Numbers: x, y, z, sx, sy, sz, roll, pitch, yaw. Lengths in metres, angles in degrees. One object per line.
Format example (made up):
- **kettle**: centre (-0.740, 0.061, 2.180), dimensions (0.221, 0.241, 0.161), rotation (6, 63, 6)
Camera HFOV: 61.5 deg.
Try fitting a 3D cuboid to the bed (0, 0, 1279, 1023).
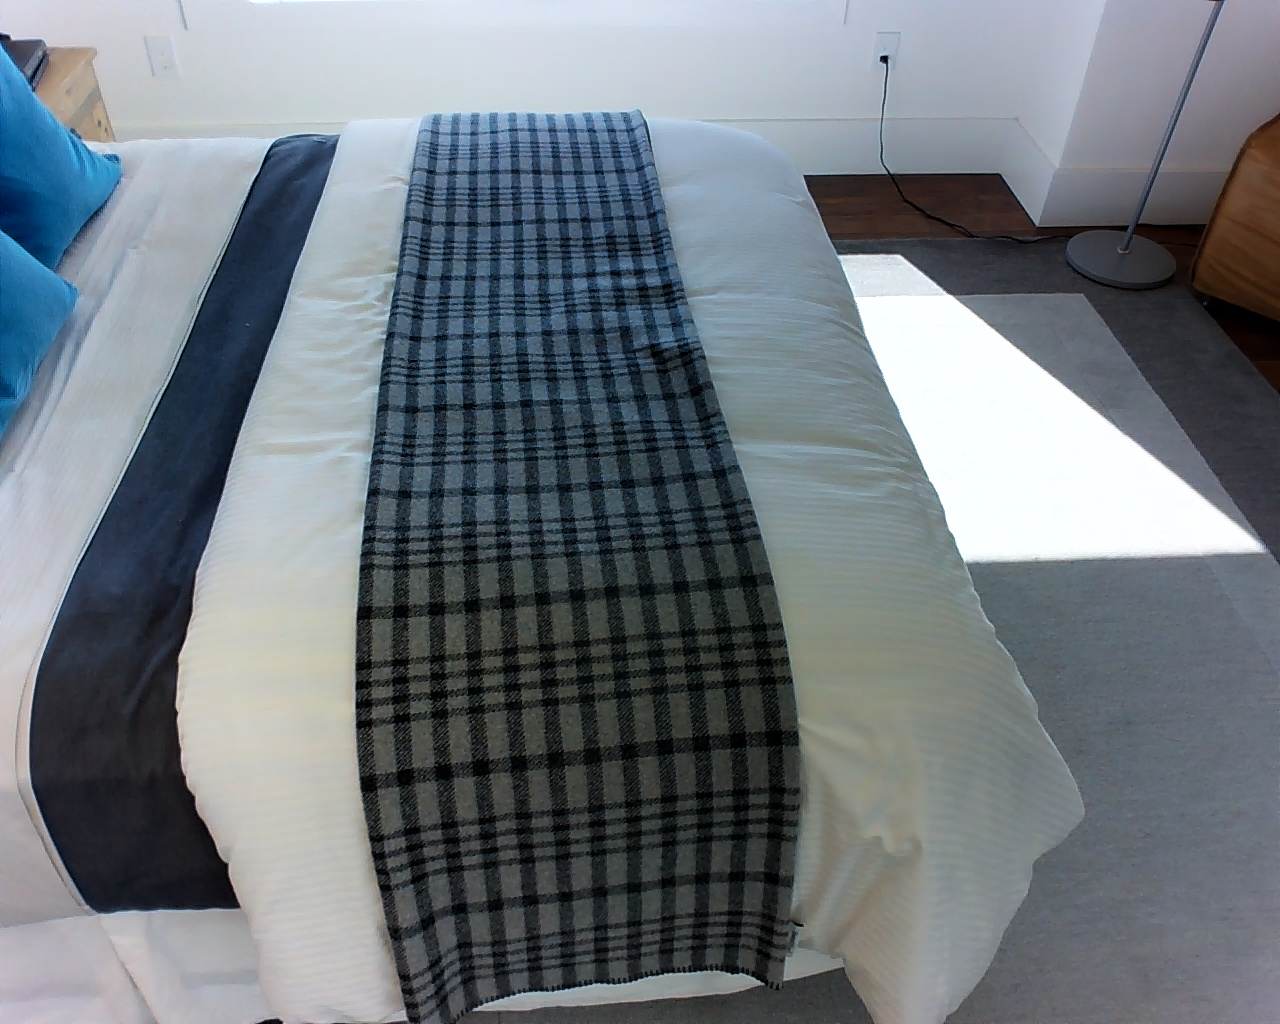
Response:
- **bed**: centre (-0.520, -0.210, 1.640), dimensions (2.210, 1.110, 1.920), rotation (-2, 42, -4)
